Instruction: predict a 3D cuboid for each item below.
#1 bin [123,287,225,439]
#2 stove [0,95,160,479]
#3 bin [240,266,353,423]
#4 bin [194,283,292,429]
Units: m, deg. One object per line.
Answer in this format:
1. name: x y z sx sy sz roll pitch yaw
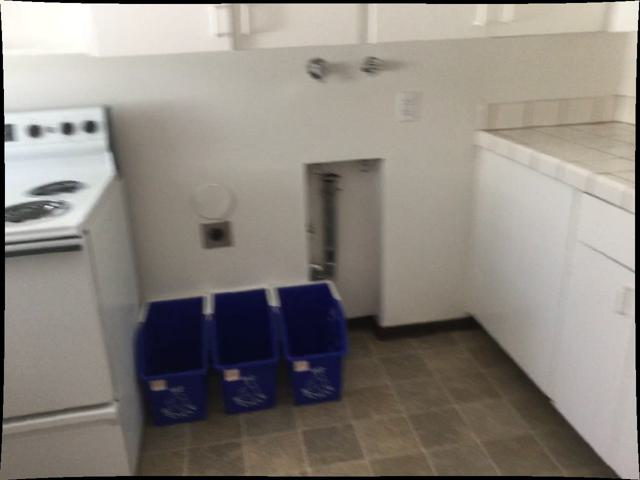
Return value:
1. bin: -0.549 0.461 2.240 0.300 0.381 0.390 -7 24 -9
2. stove: -1.088 0.210 1.860 0.879 1.142 0.740 -7 24 -8
3. bin: -0.110 0.401 2.360 0.359 0.350 0.530 -7 24 -9
4. bin: -0.309 0.441 2.280 0.320 0.360 0.400 -7 24 -9
